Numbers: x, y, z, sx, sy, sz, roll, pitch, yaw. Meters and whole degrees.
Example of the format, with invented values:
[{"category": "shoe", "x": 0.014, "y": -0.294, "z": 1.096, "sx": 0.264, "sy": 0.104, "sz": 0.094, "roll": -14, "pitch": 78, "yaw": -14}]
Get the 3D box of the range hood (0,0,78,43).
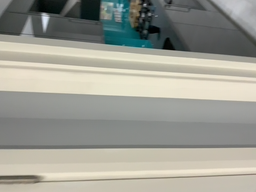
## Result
[{"category": "range hood", "x": -0.980, "y": -1.040, "z": 2.490, "sx": 0.610, "sy": 0.720, "sz": 0.520, "roll": -99, "pitch": 15, "yaw": -45}]
